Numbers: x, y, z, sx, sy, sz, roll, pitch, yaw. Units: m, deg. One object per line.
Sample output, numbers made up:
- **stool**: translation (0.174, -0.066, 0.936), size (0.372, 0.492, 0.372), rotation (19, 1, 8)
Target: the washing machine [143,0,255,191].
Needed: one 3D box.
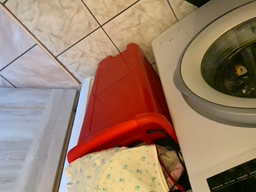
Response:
- **washing machine**: translation (0.470, -0.020, 0.710), size (0.610, 0.860, 0.480), rotation (-27, 126, 19)

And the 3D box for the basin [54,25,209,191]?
- **basin**: translation (0.040, 0.090, 0.960), size (0.340, 0.560, 0.520), rotation (-24, 127, 17)
